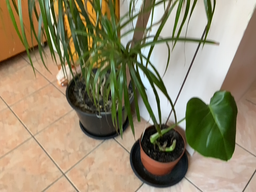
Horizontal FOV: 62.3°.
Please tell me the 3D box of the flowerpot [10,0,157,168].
[{"bbox_3d":[-0.170,-0.240,0.840,0.330,1.260,0.420,-34,57,-28],"label":"flowerpot"}]
